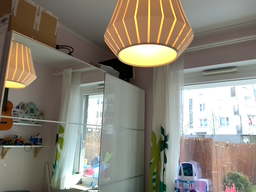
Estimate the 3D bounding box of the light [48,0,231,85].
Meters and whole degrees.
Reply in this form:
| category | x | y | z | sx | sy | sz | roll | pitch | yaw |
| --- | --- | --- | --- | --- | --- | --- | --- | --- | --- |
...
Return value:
| category | x | y | z | sx | sy | sz | roll | pitch | yaw |
| --- | --- | --- | --- | --- | --- | --- | --- | --- | --- |
| light | 0.110 | -0.690 | 1.470 | 0.930 | 0.620 | 0.710 | -44 | -26 | 12 |

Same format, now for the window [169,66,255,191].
| category | x | y | z | sx | sy | sz | roll | pitch | yaw |
| --- | --- | --- | --- | --- | --- | --- | --- | --- | --- |
| window | 1.080 | 0.550 | 2.730 | 1.060 | 1.770 | 0.180 | -4 | -12 | 27 |

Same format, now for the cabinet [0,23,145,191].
| category | x | y | z | sx | sy | sz | roll | pitch | yaw |
| --- | --- | --- | --- | --- | --- | --- | --- | --- | --- |
| cabinet | -0.610 | 0.890 | 2.180 | 0.660 | 2.390 | 2.010 | -5 | -13 | 32 |
